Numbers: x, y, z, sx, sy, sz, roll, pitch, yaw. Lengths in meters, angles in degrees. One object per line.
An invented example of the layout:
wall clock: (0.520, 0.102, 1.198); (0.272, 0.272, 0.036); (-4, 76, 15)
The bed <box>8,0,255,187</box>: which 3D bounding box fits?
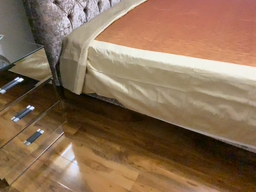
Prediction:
bed: (0.740, -0.360, 1.730); (2.540, 0.610, 1.800); (17, 42, 24)
